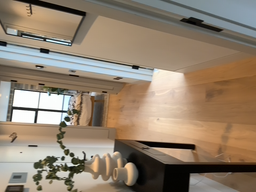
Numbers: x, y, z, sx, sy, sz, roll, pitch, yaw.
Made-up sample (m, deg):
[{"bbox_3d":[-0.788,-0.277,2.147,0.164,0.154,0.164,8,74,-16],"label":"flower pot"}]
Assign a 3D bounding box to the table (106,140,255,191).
[{"bbox_3d":[0.370,0.530,1.610,0.940,0.810,0.290,164,111,-66],"label":"table"}]
